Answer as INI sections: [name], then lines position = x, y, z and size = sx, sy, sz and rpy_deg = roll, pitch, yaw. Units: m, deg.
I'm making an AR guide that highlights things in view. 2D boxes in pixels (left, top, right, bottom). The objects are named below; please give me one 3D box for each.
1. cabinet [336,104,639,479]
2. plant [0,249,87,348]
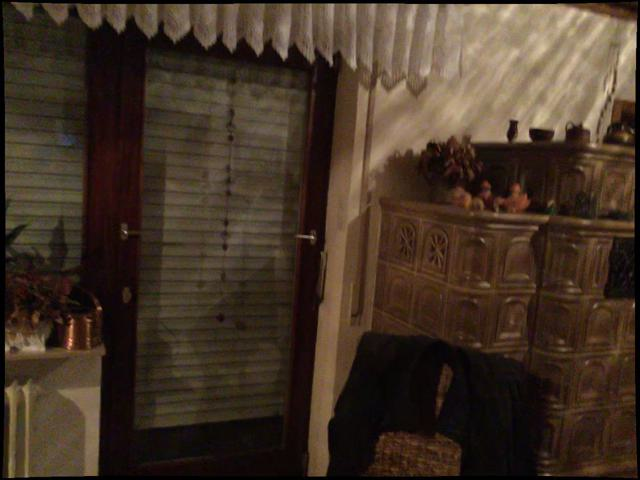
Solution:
[cabinet]
position = 0.899, 0.400, 2.500
size = 1.279, 1.762, 0.860
rpy_deg = 1, 9, -23
[plant]
position = -1.069, 0.200, 2.100
size = 0.400, 0.280, 0.330
rpy_deg = 1, 9, -23
